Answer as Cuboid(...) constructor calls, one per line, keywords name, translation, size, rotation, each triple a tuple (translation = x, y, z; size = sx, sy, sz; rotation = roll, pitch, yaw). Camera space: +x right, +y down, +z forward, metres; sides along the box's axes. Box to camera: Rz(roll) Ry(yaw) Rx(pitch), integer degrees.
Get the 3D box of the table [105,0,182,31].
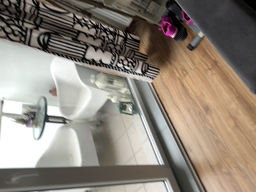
Cuboid(name="table", translation=(0.120, -0.920, 1.950), size=(0.320, 0.620, 0.310), rotation=(-52, 43, 32))
